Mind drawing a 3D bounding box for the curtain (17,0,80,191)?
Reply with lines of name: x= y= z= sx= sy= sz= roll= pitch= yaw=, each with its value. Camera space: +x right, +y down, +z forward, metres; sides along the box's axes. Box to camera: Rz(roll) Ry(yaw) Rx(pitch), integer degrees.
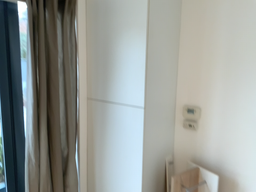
curtain: x=-0.580 y=0.220 z=1.660 sx=0.100 sy=2.170 sz=0.420 roll=8 pitch=11 yaw=38
